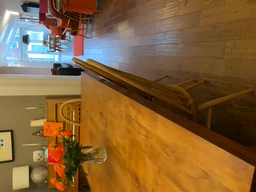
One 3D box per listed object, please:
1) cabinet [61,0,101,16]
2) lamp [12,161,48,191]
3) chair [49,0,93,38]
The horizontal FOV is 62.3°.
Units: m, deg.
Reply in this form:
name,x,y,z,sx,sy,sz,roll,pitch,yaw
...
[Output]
name,x,y,z,sx,sy,sz,roll,pitch,yaw
cabinet,-0.970,-1.970,4.320,0.570,0.700,0.510,-149,60,-63
lamp,-1.560,1.280,3.400,0.190,0.510,0.340,-149,60,-63
chair,-1.410,-1.970,5.110,0.750,0.880,0.690,121,140,-52
